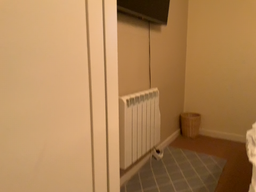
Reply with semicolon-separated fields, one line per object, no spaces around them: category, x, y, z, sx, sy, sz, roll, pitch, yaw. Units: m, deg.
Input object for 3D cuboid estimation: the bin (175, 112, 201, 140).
bin;0.840;0.410;2.970;0.270;0.300;0.260;7;13;34
